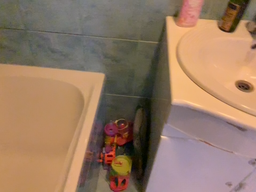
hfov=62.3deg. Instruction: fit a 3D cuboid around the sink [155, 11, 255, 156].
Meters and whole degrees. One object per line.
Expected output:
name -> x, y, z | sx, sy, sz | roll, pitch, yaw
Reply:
sink -> 0.410, -0.070, 0.710 | 0.600, 0.160, 0.510 | 4, 46, 0
